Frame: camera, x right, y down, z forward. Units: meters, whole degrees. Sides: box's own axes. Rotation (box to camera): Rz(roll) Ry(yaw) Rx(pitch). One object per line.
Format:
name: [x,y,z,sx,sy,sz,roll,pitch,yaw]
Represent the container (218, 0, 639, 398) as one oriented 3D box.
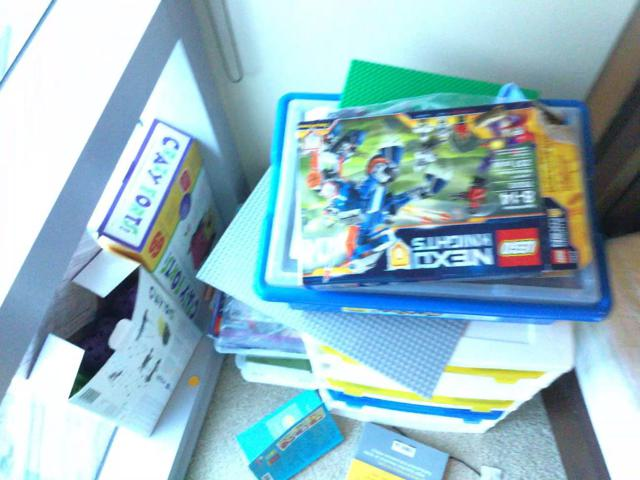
container: [0.130,-0.050,0.810,0.460,0.360,0.410,-7,63,2]
